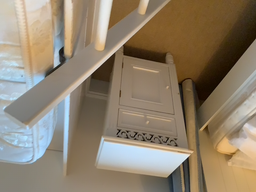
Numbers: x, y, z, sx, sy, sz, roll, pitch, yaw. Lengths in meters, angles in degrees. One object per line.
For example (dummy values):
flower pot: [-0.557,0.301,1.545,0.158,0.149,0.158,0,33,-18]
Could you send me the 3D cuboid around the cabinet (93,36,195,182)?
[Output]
cabinet: [0.060,0.060,1.240,0.390,0.700,0.400,10,139,-9]
